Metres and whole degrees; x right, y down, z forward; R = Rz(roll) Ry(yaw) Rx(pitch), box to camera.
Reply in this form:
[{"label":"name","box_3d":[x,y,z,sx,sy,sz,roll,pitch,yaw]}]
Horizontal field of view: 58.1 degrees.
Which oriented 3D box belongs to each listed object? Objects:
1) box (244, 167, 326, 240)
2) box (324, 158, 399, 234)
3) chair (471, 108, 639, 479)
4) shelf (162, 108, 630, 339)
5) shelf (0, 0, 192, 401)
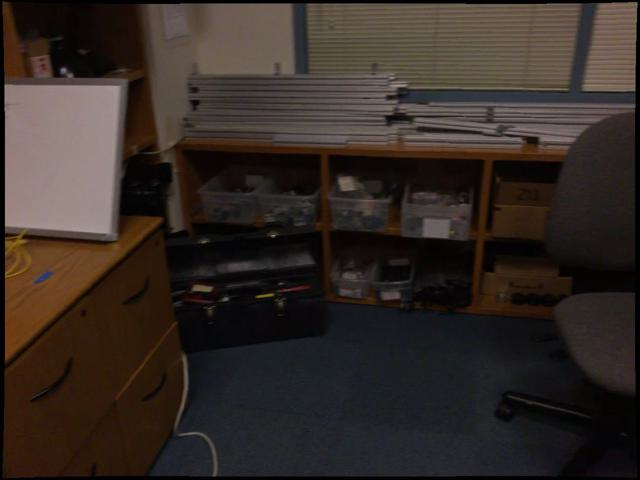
[{"label":"box","box_3d":[-0.150,-0.180,2.680,0.269,0.170,0.420,4,28,12]},{"label":"box","box_3d":[0.199,-0.211,2.630,0.279,0.190,0.400,4,28,12]},{"label":"chair","box_3d":[0.918,0.201,1.720,0.648,1.012,0.670,-4,27,-3]},{"label":"shelf","box_3d":[0.289,-0.120,2.650,1.816,0.802,0.520,4,28,12]},{"label":"shelf","box_3d":[-0.958,-0.221,2.270,0.429,1.473,0.770,4,28,12]}]
